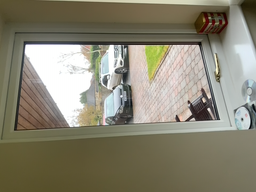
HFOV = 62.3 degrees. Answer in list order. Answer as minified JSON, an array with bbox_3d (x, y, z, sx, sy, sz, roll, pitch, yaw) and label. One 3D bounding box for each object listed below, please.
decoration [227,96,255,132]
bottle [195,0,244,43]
[{"bbox_3d":[0.600,0.090,1.020,0.180,0.130,0.130,110,157,-68],"label":"decoration"},{"bbox_3d":[0.530,-0.430,1.250,0.170,0.180,0.170,127,141,-76],"label":"bottle"}]
